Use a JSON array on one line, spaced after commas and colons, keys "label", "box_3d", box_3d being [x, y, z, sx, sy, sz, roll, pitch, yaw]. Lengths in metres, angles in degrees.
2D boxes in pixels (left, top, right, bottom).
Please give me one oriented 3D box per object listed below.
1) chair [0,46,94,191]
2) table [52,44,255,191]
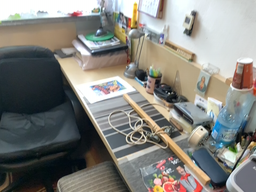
[{"label": "chair", "box_3d": [-0.640, 0.200, 1.430, 0.640, 0.810, 0.720, -9, 35, -20]}, {"label": "table", "box_3d": [-0.050, 0.290, 1.430, 0.500, 0.740, 1.560, -13, 37, -25]}]
